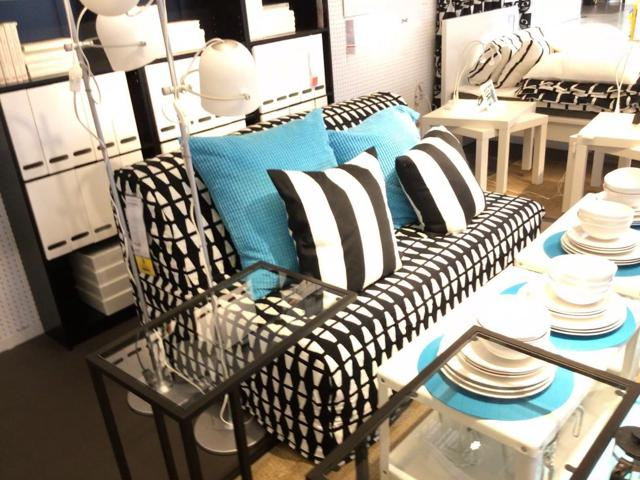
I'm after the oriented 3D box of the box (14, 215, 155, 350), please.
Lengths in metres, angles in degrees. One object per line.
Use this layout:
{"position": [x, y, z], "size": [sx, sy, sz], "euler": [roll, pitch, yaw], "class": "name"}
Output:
{"position": [-0.990, 0.160, 2.440], "size": [0.320, 0.420, 0.380], "euler": [-28, 25, -38], "class": "box"}
